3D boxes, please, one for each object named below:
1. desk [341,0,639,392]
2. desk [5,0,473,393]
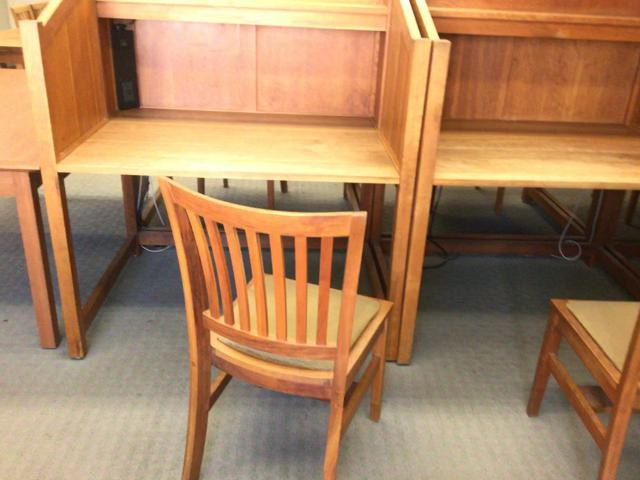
[{"bbox_3d":[0.910,-0.360,2.390,1.440,1.510,1.080,6,23,-2],"label":"desk"},{"bbox_3d":[-0.290,-0.360,2.330,1.320,1.480,1.010,6,23,-2],"label":"desk"}]
